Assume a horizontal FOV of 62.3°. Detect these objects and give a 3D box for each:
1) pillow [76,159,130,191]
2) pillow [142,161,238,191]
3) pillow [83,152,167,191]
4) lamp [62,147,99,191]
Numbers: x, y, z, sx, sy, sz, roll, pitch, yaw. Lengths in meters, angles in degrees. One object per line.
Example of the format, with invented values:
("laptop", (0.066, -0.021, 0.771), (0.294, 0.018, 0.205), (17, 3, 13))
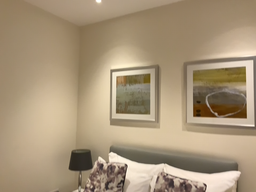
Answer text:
("pillow", (-0.220, 0.800, 1.910), (0.410, 0.370, 0.120), (-25, -2, 33))
("pillow", (0.540, 0.800, 1.780), (0.650, 0.290, 0.570), (-1, -4, 31))
("pillow", (-0.020, 0.800, 2.100), (0.620, 0.310, 0.560), (-1, -4, 33))
("lamp", (-0.580, 0.940, 2.630), (0.260, 0.530, 0.350), (-1, -4, 30))
